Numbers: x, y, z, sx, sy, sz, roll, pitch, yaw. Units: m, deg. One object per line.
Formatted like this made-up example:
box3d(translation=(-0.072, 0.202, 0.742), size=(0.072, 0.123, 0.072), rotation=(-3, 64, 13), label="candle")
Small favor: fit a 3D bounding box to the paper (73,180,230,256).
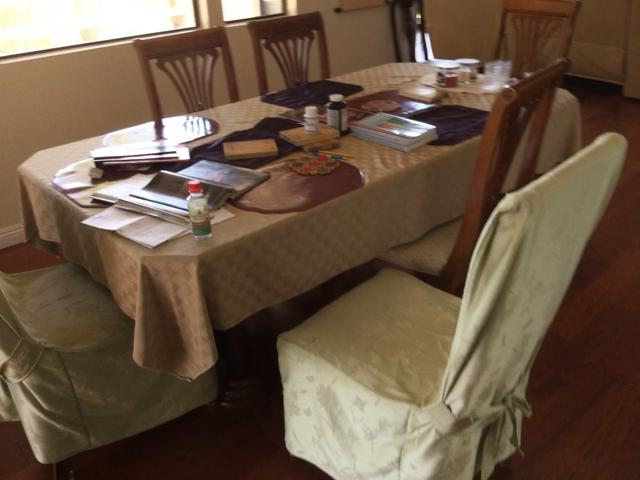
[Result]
box3d(translation=(-0.450, -0.070, 1.540), size=(0.350, 0.030, 0.230), rotation=(16, 37, 31), label="paper")
